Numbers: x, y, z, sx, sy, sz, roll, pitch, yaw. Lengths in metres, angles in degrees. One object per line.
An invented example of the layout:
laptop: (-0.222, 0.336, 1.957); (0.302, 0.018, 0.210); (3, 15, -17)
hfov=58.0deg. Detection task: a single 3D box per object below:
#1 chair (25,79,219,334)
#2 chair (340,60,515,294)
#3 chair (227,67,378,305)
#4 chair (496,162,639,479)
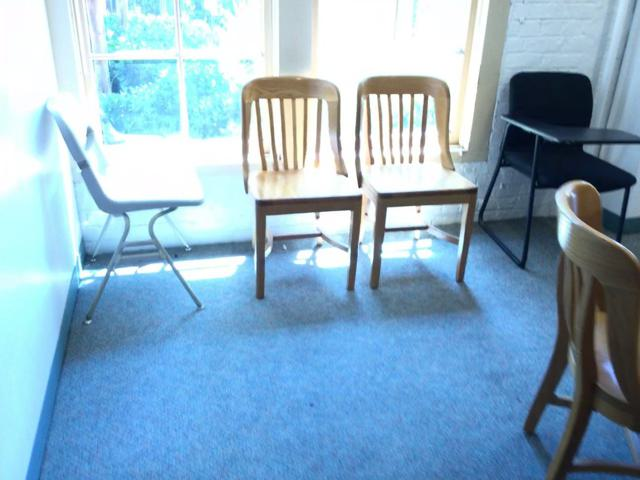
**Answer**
chair: (-0.750, -0.170, 2.380); (0.540, 0.830, 0.620); (-7, 26, -10)
chair: (0.430, -0.310, 2.600); (0.540, 0.860, 0.590); (-7, 26, -10)
chair: (-0.090, -0.270, 2.570); (0.520, 0.850, 0.620); (-7, 26, -10)
chair: (0.820, 0.290, 1.430); (0.610, 0.800, 0.600); (3, 26, 10)
